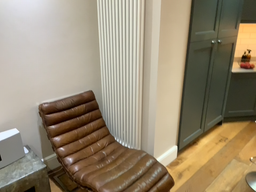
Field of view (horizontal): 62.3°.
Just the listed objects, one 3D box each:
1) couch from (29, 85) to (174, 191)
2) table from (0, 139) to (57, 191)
[{"bbox_3d":[-0.300,0.480,2.070,1.210,0.790,0.700,20,28,40],"label":"couch"},{"bbox_3d":[-0.990,0.760,1.810,0.580,0.450,0.430,-18,28,-40],"label":"table"}]
